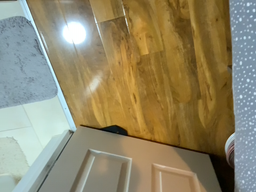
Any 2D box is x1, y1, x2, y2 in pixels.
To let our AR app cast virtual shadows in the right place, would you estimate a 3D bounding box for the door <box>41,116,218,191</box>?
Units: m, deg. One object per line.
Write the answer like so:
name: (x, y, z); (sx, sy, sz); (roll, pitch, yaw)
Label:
door: (-0.020, 0.630, 0.360); (0.720, 2.070, 0.020); (12, 115, 1)
